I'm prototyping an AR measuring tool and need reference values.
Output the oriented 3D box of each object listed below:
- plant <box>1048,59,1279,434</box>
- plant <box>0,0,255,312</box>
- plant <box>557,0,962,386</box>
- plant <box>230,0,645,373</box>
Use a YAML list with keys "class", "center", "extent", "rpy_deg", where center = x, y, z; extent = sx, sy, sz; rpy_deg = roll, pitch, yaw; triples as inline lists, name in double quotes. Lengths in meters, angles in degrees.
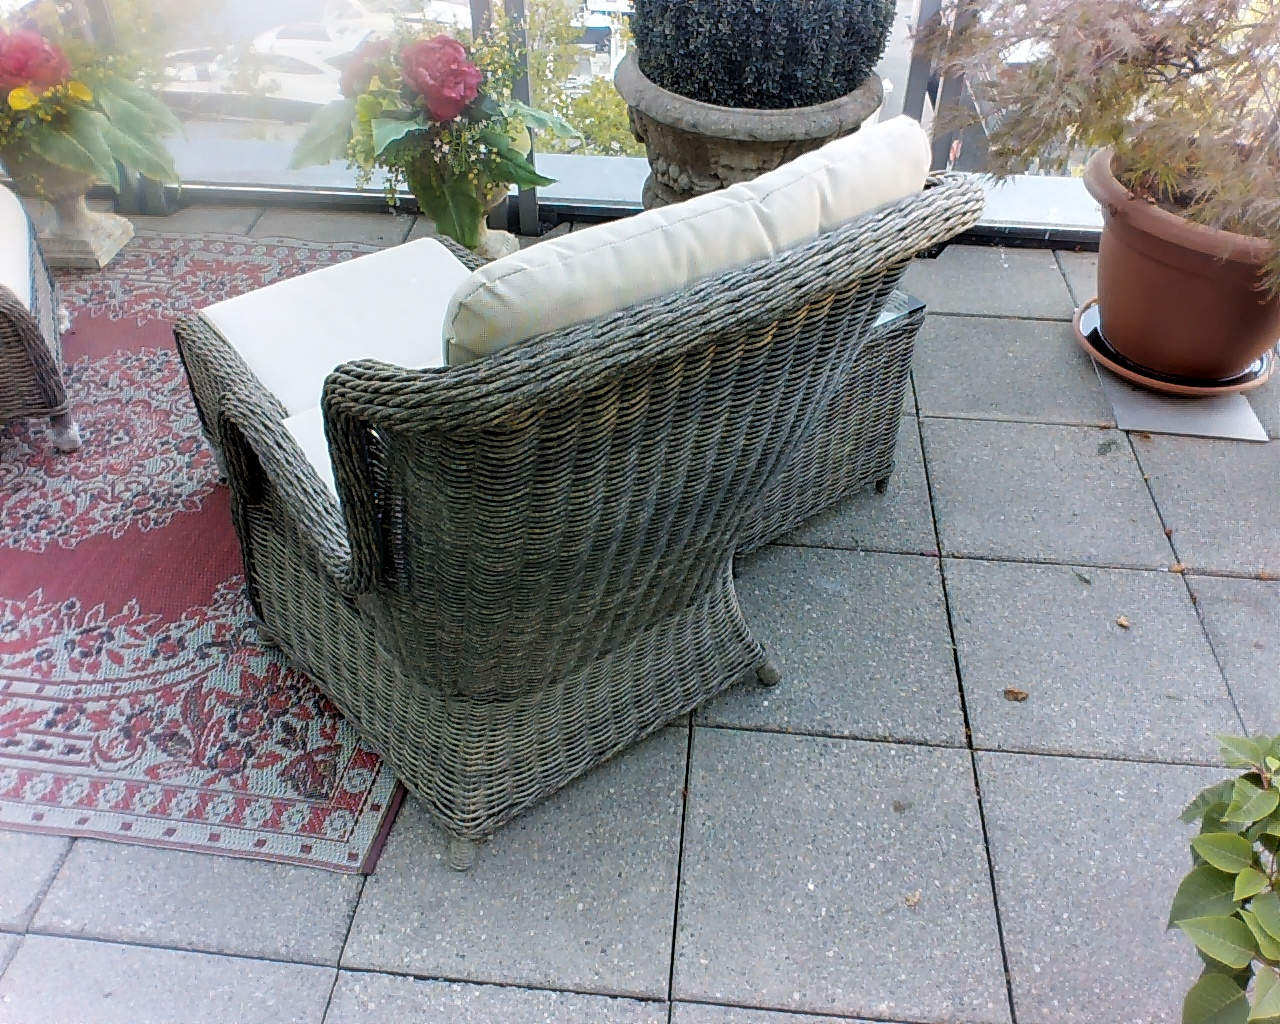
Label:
- class: "plant"
  center: [1.370, -0.650, 2.540]
  extent: [0.590, 0.530, 0.730]
  rpy_deg: [14, 43, 14]
- class: "plant"
  center: [-1.540, -0.940, 2.780]
  extent: [0.840, 0.600, 0.580]
  rpy_deg: [-5, 42, -6]
- class: "plant"
  center: [0.240, -0.930, 2.430]
  extent: [0.580, 0.960, 0.640]
  rpy_deg: [-27, 49, -29]
- class: "plant"
  center: [-0.480, -0.890, 2.710]
  extent: [0.710, 0.630, 0.670]
  rpy_deg: [34, 51, 32]
